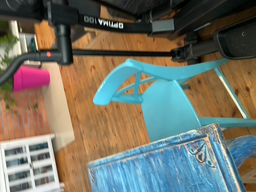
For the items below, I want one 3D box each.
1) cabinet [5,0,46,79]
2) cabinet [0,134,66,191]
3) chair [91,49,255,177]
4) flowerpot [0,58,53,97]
[{"bbox_3d":[-2.040,-1.180,4.160,0.540,0.400,1.620,-36,66,46],"label":"cabinet"},{"bbox_3d":[-1.570,1.140,3.380,0.320,0.910,0.880,-28,72,49],"label":"cabinet"},{"bbox_3d":[0.270,0.060,1.090,0.350,0.750,0.400,-45,60,43],"label":"chair"},{"bbox_3d":[-1.870,-0.290,3.420,0.440,1.100,0.460,-38,65,46],"label":"flowerpot"}]
